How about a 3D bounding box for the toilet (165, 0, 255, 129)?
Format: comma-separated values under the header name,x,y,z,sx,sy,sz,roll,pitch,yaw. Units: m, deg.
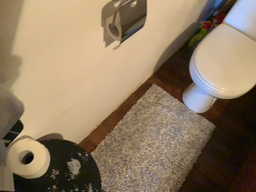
name,x,y,z,sx,sy,sz,roll,pitch,yaw
toilet,0.590,-0.230,1.240,0.320,0.700,0.560,37,63,13
